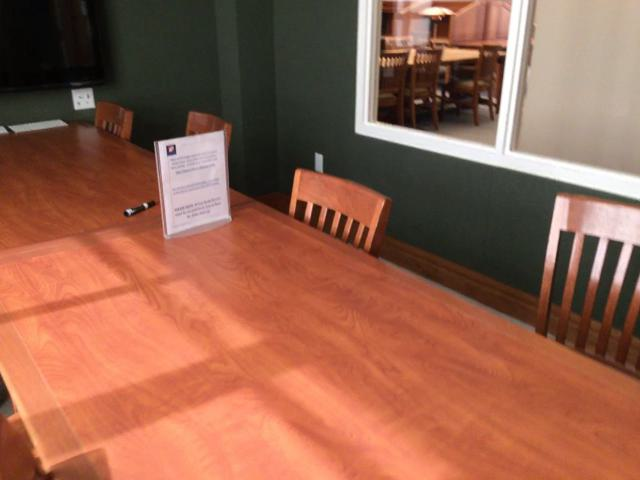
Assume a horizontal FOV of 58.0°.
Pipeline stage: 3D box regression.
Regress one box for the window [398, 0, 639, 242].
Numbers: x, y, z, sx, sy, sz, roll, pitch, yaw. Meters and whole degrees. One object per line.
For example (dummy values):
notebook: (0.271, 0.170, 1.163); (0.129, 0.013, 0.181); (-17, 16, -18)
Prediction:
window: (0.970, -0.710, 2.200); (0.230, 1.210, 1.600); (-17, 28, -34)
